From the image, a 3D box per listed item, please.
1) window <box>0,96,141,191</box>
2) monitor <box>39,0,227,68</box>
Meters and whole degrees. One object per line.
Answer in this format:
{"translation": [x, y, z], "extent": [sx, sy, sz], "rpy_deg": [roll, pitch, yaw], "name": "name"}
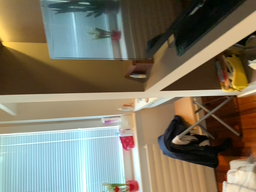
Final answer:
{"translation": [-0.600, 1.130, 2.020], "extent": [0.130, 1.510, 2.250], "rpy_deg": [143, 124, -70], "name": "window"}
{"translation": [0.000, -0.280, 0.720], "extent": [0.880, 0.550, 0.050], "rpy_deg": [139, 128, -69], "name": "monitor"}
